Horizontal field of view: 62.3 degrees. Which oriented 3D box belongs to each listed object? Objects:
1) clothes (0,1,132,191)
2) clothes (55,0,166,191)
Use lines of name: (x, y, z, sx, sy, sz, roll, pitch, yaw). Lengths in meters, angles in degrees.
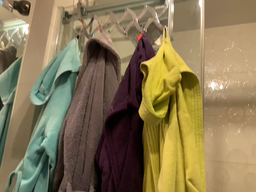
clothes: (-0.250, 0.380, 0.980, 0.250, 1.380, 0.610, 0, -14, 20)
clothes: (-0.040, 0.360, 0.780, 0.240, 1.380, 0.430, 1, -13, 17)
